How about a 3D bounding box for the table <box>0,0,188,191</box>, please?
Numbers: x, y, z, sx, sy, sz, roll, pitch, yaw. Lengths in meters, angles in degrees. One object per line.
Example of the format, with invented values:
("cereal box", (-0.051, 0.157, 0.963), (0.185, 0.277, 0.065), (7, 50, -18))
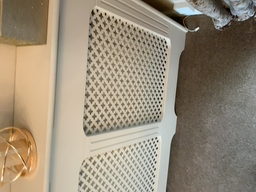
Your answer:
("table", (-0.050, 0.150, 0.990), (0.170, 0.960, 1.240), (7, 95, 38))
